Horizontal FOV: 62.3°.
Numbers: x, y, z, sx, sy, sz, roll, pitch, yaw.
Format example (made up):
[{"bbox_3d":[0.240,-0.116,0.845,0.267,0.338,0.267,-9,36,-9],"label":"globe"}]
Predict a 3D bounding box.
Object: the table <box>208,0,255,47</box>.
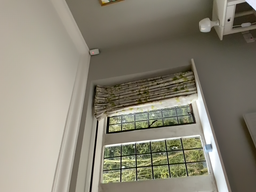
[{"bbox_3d":[1.280,-0.950,2.260,0.530,0.690,0.490,69,-164,-50],"label":"table"}]
